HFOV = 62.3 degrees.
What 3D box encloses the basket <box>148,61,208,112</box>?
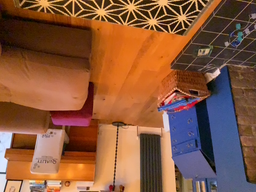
[{"bbox_3d":[0.500,-0.070,2.290,0.400,0.320,0.550,6,158,-14],"label":"basket"}]
